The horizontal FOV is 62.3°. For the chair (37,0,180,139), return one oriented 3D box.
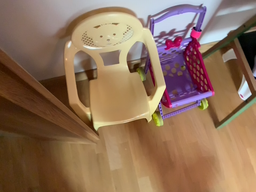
[{"bbox_3d":[-0.080,-0.050,0.930,0.380,0.560,0.350,-13,75,-6],"label":"chair"}]

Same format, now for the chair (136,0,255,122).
[{"bbox_3d":[0.240,-0.130,0.970,0.290,0.560,0.350,-13,75,-6],"label":"chair"}]
